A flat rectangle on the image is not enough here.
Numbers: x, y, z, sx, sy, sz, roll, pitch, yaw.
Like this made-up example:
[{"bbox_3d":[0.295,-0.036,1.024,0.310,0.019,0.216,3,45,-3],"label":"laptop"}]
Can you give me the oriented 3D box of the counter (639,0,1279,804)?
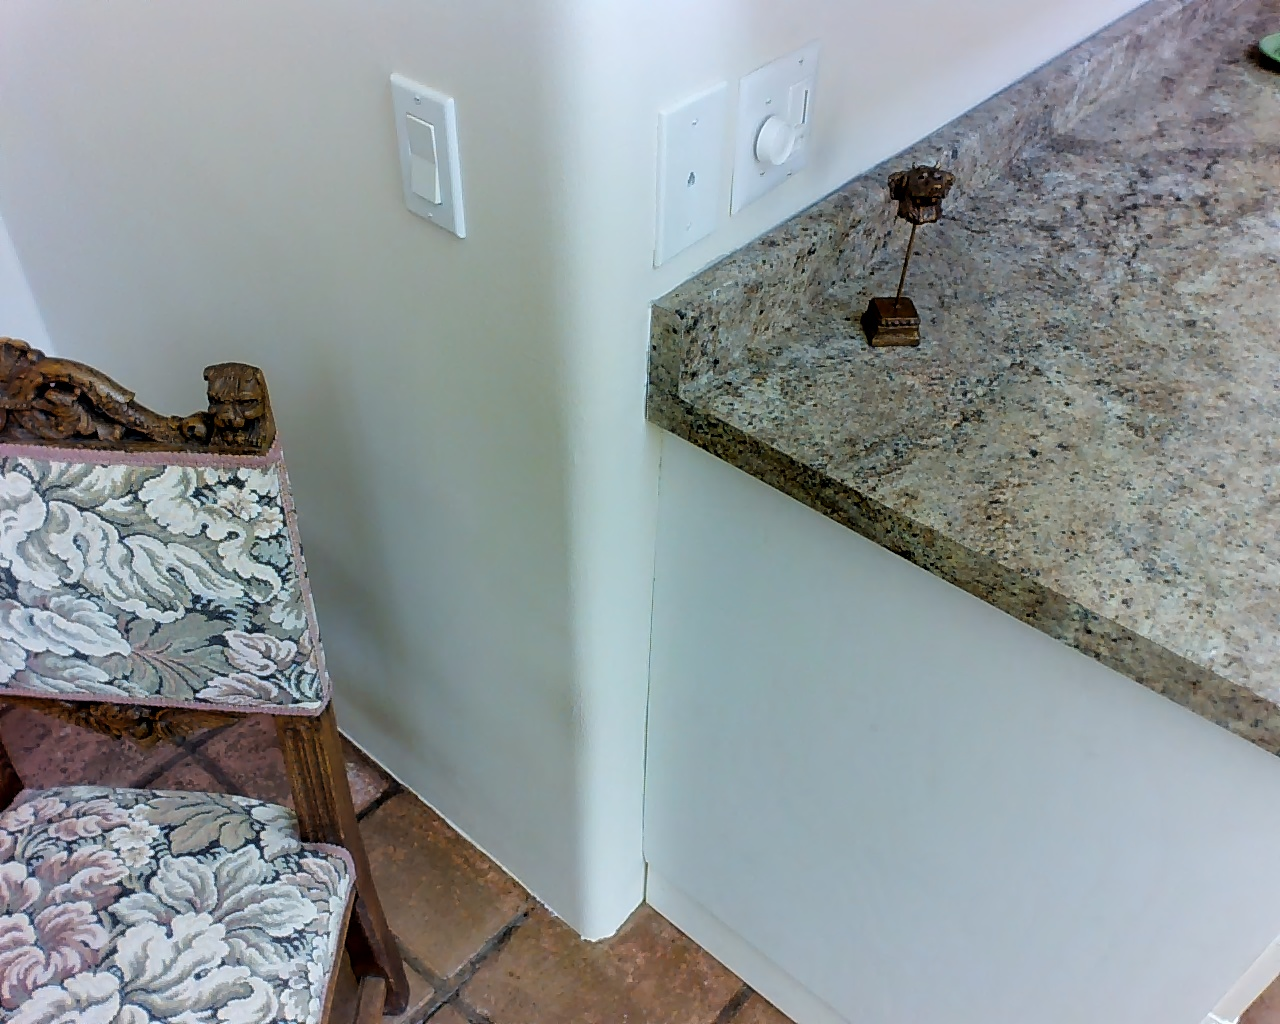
[{"bbox_3d":[0.770,-0.370,1.200,0.650,0.150,1.600,31,50,28],"label":"counter"}]
